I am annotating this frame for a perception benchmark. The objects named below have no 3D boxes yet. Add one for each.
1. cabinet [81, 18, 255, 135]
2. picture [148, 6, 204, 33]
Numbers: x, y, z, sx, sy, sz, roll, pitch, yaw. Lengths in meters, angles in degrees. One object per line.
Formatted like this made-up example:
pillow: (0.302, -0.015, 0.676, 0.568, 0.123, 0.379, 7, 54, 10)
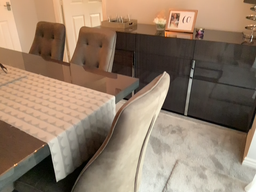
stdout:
cabinet: (0.440, -0.340, 2.370, 1.840, 0.800, 0.620, 15, 32, 25)
picture: (0.500, -0.810, 2.210, 0.480, 0.180, 0.350, 14, 31, 23)
